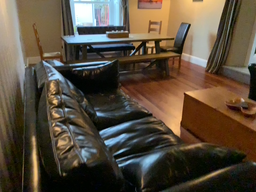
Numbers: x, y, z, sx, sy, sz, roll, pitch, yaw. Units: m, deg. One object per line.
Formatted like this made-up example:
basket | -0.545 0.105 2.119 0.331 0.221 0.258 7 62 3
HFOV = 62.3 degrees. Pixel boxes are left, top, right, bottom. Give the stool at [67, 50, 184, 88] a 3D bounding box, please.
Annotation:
stool | 0.020 -0.610 4.410 2.410 0.450 0.470 -9 26 -22
